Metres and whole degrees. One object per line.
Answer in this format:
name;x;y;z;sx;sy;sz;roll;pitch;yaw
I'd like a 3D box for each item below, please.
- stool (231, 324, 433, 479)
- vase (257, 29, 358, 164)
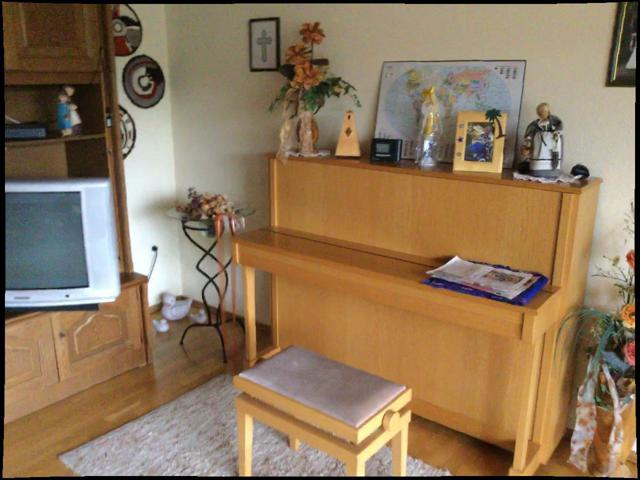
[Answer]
stool;0.030;0.671;2.100;0.580;0.470;0.410;15;21;35
vase;-0.060;-0.681;2.730;0.300;0.571;0.360;14;21;34
